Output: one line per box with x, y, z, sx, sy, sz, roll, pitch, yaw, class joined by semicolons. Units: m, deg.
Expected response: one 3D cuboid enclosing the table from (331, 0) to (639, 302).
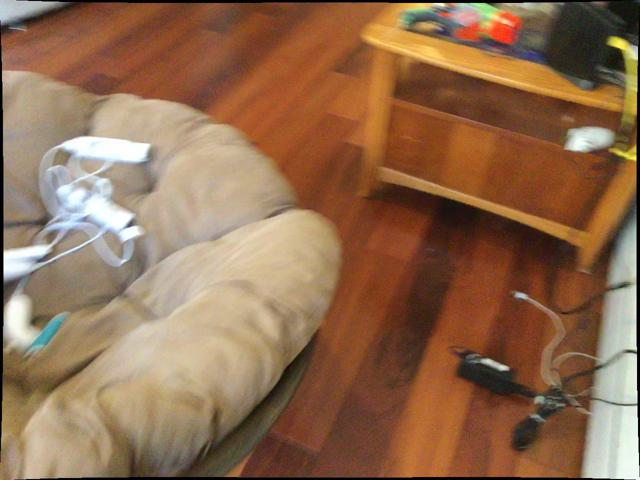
0.679;-0.580;1.820;0.849;0.590;1.280;17;46;16;table
